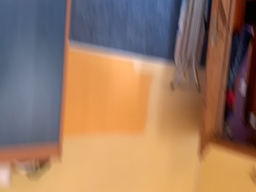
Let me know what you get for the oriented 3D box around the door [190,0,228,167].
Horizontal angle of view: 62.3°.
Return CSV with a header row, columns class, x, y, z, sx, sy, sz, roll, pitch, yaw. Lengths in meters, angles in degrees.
class,x,y,z,sx,sy,sz,roll,pitch,yaw
door,0.790,-0.530,1.910,0.070,2.140,0.790,7,-176,27
